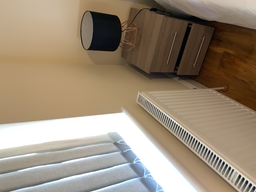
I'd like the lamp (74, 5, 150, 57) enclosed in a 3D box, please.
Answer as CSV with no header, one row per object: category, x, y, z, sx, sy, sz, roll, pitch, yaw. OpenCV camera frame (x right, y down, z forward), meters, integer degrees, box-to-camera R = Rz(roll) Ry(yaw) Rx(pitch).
lamp,-0.120,-0.450,1.500,0.270,0.430,0.250,44,128,48
